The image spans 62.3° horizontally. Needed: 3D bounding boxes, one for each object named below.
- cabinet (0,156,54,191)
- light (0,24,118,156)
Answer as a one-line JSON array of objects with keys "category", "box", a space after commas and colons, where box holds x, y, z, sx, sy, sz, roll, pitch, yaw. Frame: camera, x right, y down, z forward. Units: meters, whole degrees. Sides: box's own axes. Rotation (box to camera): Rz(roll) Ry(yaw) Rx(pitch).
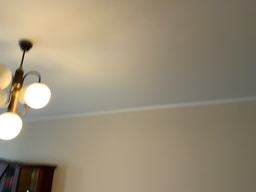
[{"category": "cabinet", "box": [-1.670, 1.100, 2.760, 0.300, 1.350, 0.560, 49, -142, -61]}, {"category": "light", "box": [-0.620, 0.050, 1.570, 0.770, 0.850, 0.590, 57, -149, -57]}]
